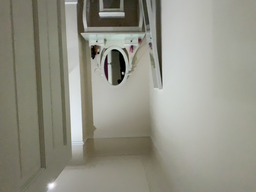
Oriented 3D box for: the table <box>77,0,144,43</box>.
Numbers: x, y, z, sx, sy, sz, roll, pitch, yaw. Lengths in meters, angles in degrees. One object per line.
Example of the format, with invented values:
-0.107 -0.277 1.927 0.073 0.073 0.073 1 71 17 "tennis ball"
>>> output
-0.280 -1.350 3.570 1.030 0.780 0.470 -2 -177 -3 "table"
